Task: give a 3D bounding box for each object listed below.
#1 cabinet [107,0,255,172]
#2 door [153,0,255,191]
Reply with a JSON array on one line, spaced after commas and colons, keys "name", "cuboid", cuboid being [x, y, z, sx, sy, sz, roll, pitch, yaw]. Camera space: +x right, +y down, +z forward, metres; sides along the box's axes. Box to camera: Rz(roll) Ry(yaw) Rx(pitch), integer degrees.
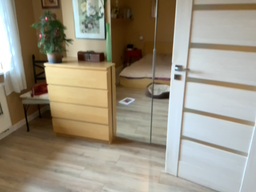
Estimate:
[{"name": "cabinet", "cuboid": [0.650, -0.370, 2.460, 1.570, 2.080, 0.750, 7, 22, 16]}, {"name": "door", "cuboid": [0.730, -0.070, 1.740, 0.890, 2.020, 0.320, 9, 22, 22]}]
